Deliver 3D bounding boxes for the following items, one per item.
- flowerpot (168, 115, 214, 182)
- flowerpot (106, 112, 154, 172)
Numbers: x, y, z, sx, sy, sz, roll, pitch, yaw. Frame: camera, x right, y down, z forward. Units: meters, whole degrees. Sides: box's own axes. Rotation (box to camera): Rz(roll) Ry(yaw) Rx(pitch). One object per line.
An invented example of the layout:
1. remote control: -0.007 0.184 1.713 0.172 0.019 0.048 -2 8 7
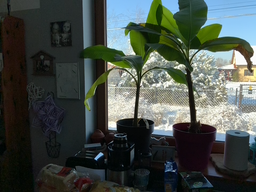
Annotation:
1. flowerpot: 0.460 0.360 1.560 0.280 0.360 0.330 3 7 17
2. flowerpot: 0.030 0.340 1.710 0.280 0.340 0.400 3 7 18
